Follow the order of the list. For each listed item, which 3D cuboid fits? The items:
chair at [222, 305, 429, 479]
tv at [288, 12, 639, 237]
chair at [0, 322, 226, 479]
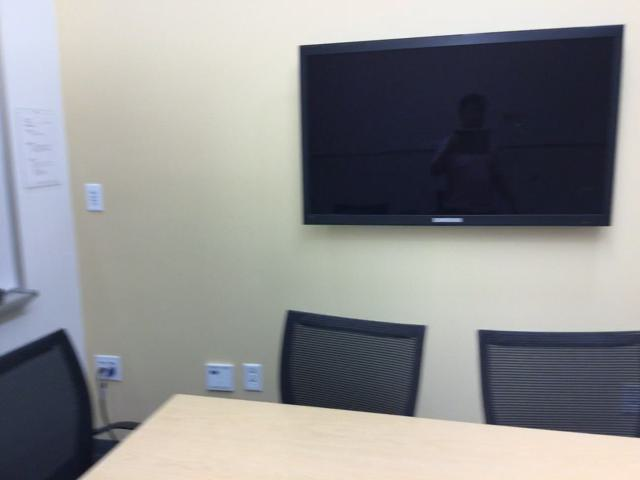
[{"bbox_3d":[0.060,0.690,1.570,0.440,0.900,0.550,1,8,12],"label":"chair"},{"bbox_3d":[0.470,-0.370,2.000,1.140,0.690,0.180,1,8,12],"label":"tv"},{"bbox_3d":[-0.590,0.740,1.450,0.540,0.920,0.550,1,8,12],"label":"chair"}]
